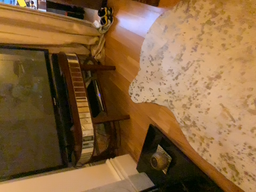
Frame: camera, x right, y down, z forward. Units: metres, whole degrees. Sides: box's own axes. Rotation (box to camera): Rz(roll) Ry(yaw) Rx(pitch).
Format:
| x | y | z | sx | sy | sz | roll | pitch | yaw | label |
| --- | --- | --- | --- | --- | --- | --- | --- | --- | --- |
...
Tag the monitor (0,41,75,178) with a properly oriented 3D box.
| x | y | z | sx | sy | sz | roll | pitch | yaw | label |
| --- | --- | --- | --- | --- | --- | --- | --- | --- | --- |
| -0.930 | 0.040 | 1.780 | 0.080 | 0.760 | 1.190 | -46 | 54 | 47 | monitor |
